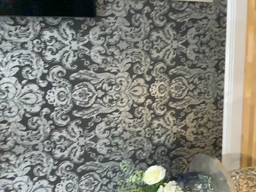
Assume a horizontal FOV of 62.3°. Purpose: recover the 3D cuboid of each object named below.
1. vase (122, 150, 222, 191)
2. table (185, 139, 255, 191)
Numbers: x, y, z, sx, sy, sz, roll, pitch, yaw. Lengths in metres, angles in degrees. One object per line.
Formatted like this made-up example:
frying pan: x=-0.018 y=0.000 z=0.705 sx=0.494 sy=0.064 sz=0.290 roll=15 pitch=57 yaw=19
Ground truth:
vase: x=0.280 y=0.650 z=1.410 sx=0.320 sy=0.560 sz=0.410 roll=-163 pitch=69 yaw=-72
table: x=0.840 y=0.650 z=1.590 sx=0.460 sy=0.640 sz=0.450 roll=-156 pitch=63 yaw=-71
